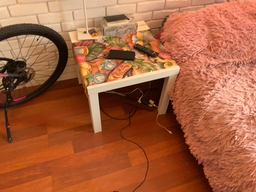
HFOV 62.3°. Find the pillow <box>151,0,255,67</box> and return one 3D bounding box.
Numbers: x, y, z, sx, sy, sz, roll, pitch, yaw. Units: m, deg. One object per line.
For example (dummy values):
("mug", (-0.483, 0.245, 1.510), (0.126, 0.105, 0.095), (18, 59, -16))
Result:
("pillow", (0.690, -0.530, 1.410), (0.920, 0.210, 0.520), (-14, 52, -15))
